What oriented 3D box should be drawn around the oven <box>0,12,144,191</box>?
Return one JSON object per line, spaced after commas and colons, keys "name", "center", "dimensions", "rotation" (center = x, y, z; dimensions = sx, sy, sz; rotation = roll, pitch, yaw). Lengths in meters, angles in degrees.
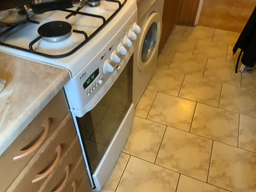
{"name": "oven", "center": [-0.310, 0.040, 1.140], "dimensions": [0.610, 0.670, 0.550], "rotation": [17, 48, 15]}
